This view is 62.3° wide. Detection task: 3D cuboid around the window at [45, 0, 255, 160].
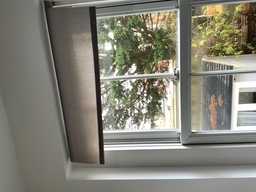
[{"bbox_3d":[0.390,-0.080,1.150,0.120,1.540,0.870,-72,-21,-72],"label":"window"}]
